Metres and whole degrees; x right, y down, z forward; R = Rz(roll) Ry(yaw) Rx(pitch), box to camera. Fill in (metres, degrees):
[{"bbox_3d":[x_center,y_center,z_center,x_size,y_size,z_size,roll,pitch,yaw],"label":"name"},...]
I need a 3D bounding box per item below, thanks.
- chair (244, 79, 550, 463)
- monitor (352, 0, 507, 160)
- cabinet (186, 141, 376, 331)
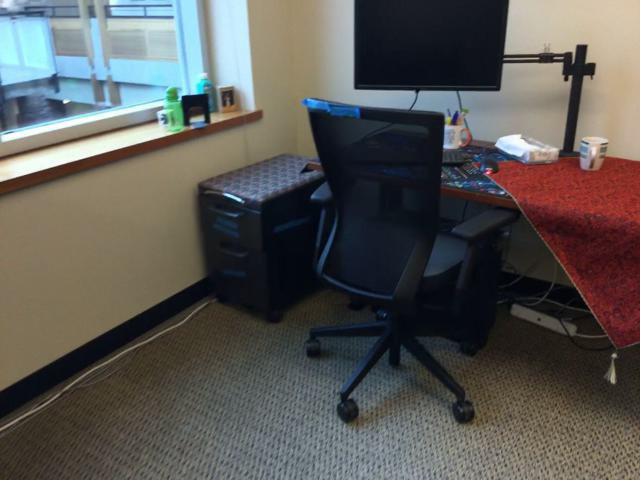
[{"bbox_3d":[0.270,0.020,1.960,0.700,1.000,0.670,13,26,33],"label":"chair"},{"bbox_3d":[0.410,-0.640,2.230,0.540,0.600,0.170,7,23,20],"label":"monitor"},{"bbox_3d":[-0.140,-0.070,2.710,0.470,0.600,0.780,13,26,33],"label":"cabinet"}]
